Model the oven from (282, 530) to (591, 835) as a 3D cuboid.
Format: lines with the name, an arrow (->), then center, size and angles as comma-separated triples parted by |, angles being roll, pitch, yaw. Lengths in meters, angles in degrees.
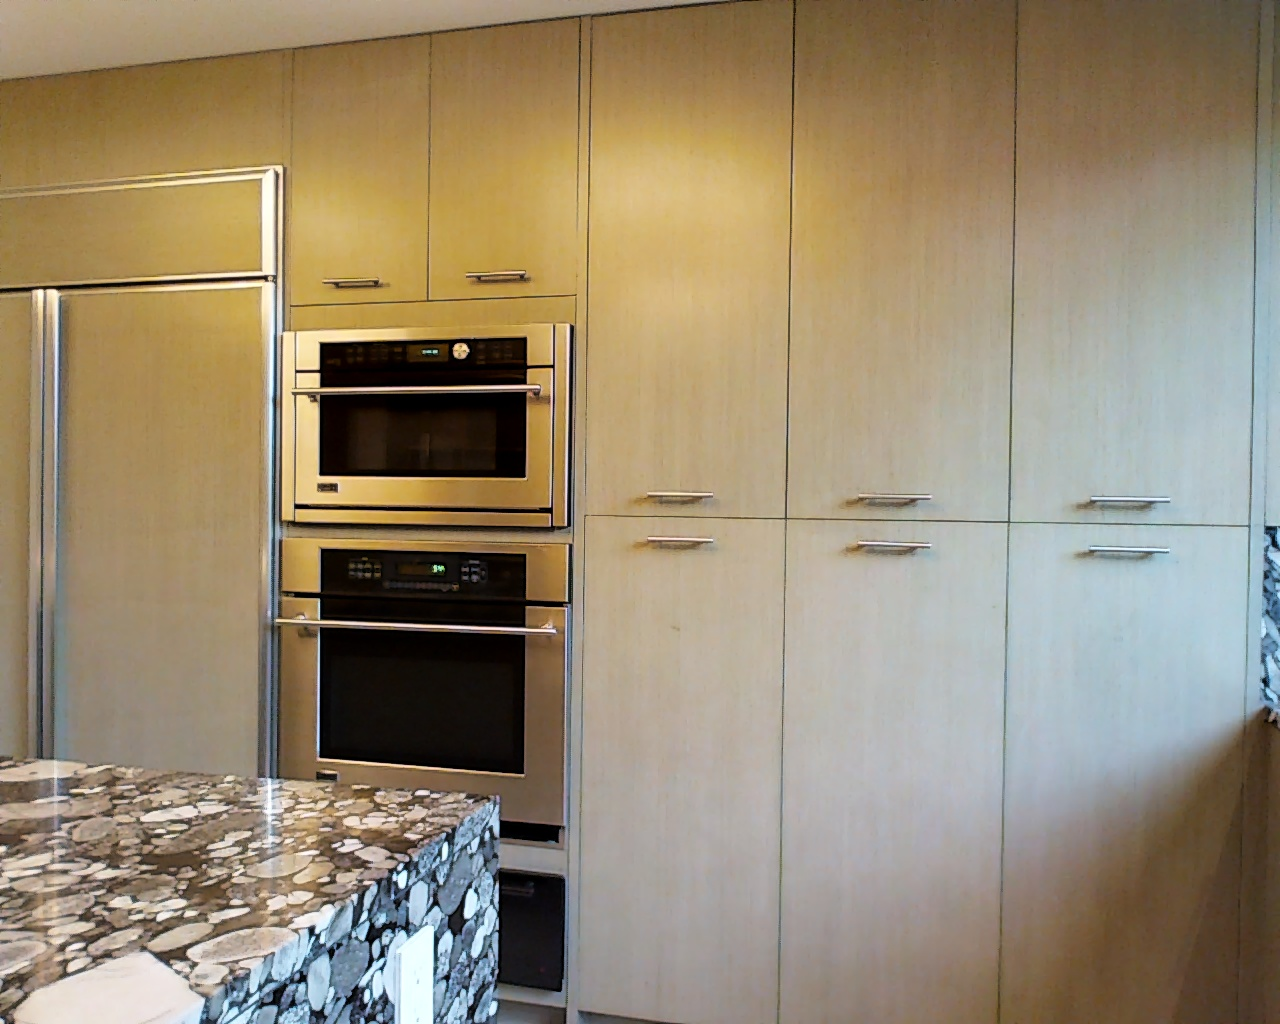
oven -> -0.510, 0.400, 2.640 | 0.790, 0.700, 0.060 | 1, 0, 15

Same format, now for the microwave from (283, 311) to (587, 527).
microwave -> -0.510, -0.220, 2.620 | 0.780, 0.500, 0.050 | 1, 0, 15

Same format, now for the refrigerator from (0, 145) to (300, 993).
refrigerator -> -1.440, 0.140, 2.910 | 1.080, 2.140, 0.120 | 1, 0, 15
